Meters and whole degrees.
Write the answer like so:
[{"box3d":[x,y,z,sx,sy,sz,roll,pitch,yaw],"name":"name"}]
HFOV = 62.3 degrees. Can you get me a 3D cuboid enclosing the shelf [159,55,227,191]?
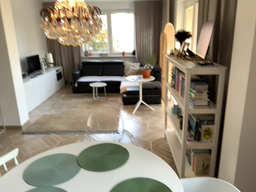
[{"box3d":[0.690,0.240,2.670,0.400,1.380,1.210,-1,17,0],"name":"shelf"}]
